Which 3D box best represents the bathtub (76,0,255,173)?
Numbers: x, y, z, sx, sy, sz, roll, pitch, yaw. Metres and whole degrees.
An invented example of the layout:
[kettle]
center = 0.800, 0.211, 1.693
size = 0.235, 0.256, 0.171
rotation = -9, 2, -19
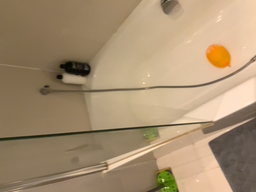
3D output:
[bathtub]
center = 0.440, -0.240, 1.200
size = 1.750, 0.540, 0.770
rotation = -38, 62, 38
